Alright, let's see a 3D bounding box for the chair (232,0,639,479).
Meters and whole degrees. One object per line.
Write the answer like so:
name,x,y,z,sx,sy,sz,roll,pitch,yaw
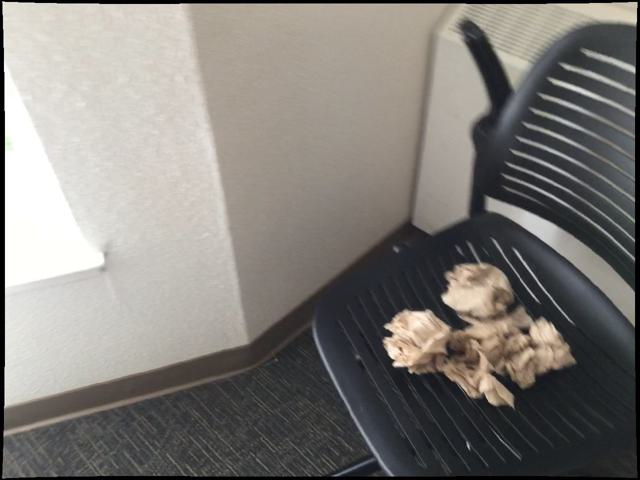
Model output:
chair,0.279,0.150,0.990,0.619,0.881,0.590,-17,47,-17
